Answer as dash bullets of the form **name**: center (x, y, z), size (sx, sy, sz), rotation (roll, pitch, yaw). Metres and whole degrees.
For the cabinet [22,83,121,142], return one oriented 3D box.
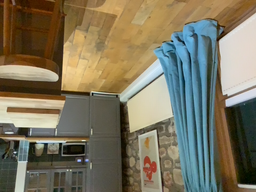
- **cabinet**: center (-1.050, 0.390, 4.140), size (1.680, 0.940, 0.700), rotation (5, 161, -20)

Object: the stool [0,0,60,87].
- **stool**: center (-0.680, -0.530, 1.480), size (0.360, 0.830, 0.360), rotation (4, 161, -19)
